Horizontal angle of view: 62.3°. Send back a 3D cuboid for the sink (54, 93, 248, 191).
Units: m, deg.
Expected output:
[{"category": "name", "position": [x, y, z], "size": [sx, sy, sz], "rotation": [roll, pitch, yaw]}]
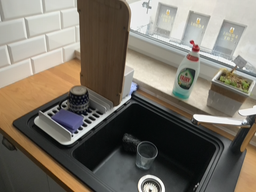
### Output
[{"category": "sink", "position": [0.100, 0.300, 0.840], "size": [0.520, 0.240, 0.520], "rotation": [28, 40, 25]}]
